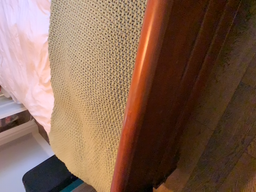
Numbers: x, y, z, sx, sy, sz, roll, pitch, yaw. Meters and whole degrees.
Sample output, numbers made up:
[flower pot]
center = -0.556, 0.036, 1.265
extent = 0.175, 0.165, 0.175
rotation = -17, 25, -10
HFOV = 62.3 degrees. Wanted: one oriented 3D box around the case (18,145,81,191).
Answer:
[case]
center = -0.970, 1.010, 2.670
extent = 0.430, 0.580, 0.360
rotation = 35, 130, 29
